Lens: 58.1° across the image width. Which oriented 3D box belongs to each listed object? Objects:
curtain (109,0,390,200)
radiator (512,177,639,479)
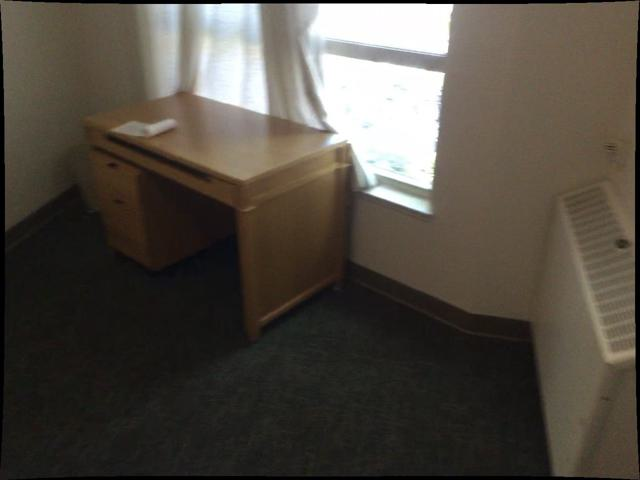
[{"bbox_3d":[-0.409,-1.092,2.590,1.569,1.452,0.200,23,38,31],"label":"curtain"},{"bbox_3d":[0.829,0.331,1.850,0.210,0.711,0.930,7,33,9],"label":"radiator"}]
